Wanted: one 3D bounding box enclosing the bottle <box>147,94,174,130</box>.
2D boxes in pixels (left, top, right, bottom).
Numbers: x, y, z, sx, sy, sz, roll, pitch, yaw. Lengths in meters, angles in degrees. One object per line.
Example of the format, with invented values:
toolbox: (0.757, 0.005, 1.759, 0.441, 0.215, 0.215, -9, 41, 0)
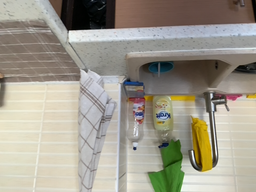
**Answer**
bottle: (0.160, 0.080, 1.070, 0.130, 0.170, 0.070, 0, 165, 4)
